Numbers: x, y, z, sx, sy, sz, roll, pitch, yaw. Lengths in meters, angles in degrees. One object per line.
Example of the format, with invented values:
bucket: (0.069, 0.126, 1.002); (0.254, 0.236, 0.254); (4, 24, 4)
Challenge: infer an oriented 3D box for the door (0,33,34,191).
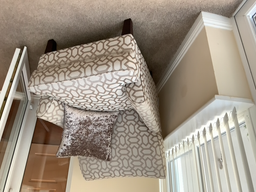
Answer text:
door: (-0.990, 0.640, 1.530); (0.080, 2.080, 0.890); (9, 152, -14)
